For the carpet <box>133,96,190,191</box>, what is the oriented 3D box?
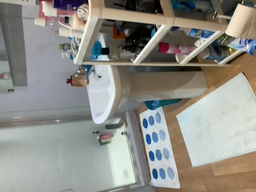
[{"bbox_3d":[0.300,0.530,2.260,0.610,0.070,0.870,129,132,-55],"label":"carpet"}]
